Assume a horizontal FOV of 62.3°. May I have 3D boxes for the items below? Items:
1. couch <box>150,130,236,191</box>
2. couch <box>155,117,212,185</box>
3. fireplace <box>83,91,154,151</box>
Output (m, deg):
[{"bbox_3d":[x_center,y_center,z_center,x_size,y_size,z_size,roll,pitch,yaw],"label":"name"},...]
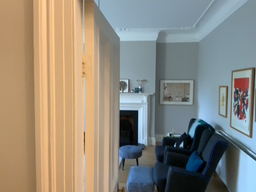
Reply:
[{"bbox_3d":[0.810,1.030,2.890,0.980,0.940,0.690,1,4,8],"label":"couch"},{"bbox_3d":[0.950,0.940,3.840,0.900,0.980,0.680,1,4,8],"label":"couch"},{"bbox_3d":[-0.200,0.590,5.640,1.720,1.400,0.930,1,4,6],"label":"fireplace"}]
